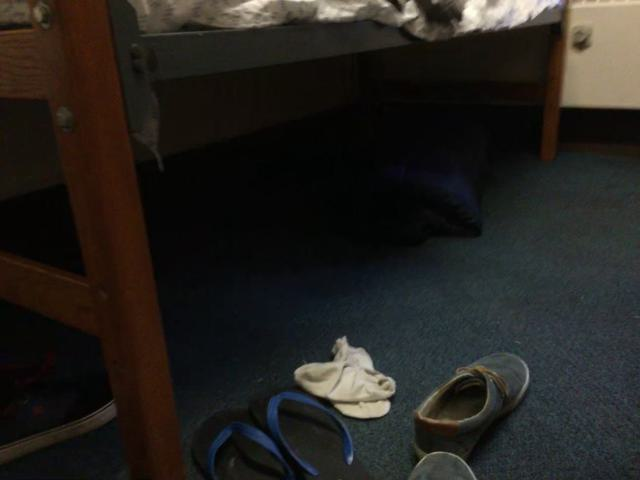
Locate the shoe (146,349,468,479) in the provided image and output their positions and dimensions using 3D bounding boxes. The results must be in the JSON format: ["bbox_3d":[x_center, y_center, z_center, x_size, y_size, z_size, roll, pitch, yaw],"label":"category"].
[{"bbox_3d":[-0.010,0.300,0.830,0.340,0.060,0.310,11,25,33],"label":"shoe"}]

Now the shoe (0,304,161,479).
[{"bbox_3d":[-0.530,0.260,0.950,0.340,0.090,0.380,11,25,34],"label":"shoe"}]

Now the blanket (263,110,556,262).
[{"bbox_3d":[0.360,-0.250,1.970,0.590,0.210,0.990,11,25,33],"label":"blanket"}]
